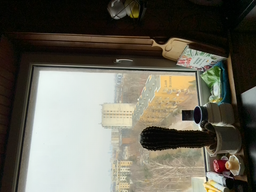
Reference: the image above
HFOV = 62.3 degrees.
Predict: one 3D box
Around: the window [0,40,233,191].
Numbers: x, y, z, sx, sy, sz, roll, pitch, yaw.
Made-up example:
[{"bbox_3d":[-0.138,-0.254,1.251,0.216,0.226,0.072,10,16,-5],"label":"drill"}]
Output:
[{"bbox_3d":[-0.100,0.210,1.490,0.320,1.420,1.120,104,167,-69],"label":"window"}]
